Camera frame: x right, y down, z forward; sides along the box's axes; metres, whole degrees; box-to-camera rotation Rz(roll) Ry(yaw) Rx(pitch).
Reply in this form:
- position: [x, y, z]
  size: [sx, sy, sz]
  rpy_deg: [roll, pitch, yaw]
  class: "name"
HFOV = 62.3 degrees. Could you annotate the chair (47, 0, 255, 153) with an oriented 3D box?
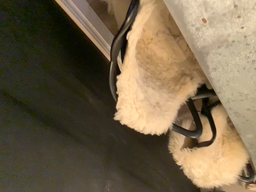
- position: [0.270, -0.350, 0.790]
  size: [0.720, 0.800, 0.560]
  rpy_deg: [-23, 134, 27]
  class: "chair"
